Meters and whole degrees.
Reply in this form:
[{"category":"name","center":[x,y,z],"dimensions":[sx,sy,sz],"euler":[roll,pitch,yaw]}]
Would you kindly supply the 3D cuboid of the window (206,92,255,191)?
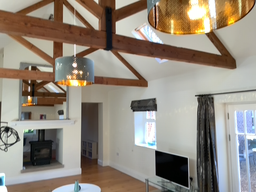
[{"category":"window","center":[1.870,1.010,3.410],"dimensions":[0.280,2.080,1.180],"euler":[2,-5,-29]}]
